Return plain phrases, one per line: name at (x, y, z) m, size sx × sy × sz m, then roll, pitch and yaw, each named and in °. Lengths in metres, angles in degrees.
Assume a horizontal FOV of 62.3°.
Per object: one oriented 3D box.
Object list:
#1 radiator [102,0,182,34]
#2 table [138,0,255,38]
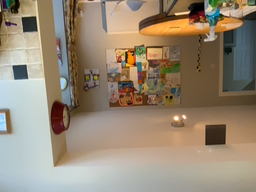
radiator at (0.270, -1.590, 4.070) m, size 1.480 × 0.680 × 0.170 m, roll -1°, pitch -172°, yaw 5°
table at (0.680, -1.240, 2.400) m, size 1.130 × 0.960 × 1.090 m, roll -2°, pitch -172°, yaw 4°
